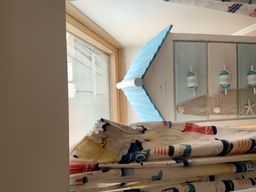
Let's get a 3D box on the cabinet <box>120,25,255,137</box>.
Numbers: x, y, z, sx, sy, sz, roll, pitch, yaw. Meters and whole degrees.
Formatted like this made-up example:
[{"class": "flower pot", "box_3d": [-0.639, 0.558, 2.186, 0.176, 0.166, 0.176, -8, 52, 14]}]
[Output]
[{"class": "cabinet", "box_3d": [0.470, -0.070, 1.090, 0.360, 0.960, 0.420, 180, 88, -76]}]
